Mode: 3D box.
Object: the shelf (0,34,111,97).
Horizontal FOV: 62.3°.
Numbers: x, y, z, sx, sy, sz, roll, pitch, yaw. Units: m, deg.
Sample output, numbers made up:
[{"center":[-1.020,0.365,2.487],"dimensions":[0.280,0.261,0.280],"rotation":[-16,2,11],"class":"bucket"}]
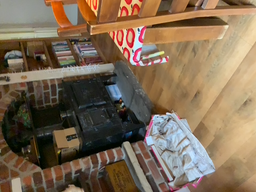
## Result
[{"center":[-1.420,-0.550,3.350],"dimensions":[1.040,2.050,0.290],"rotation":[59,147,36],"class":"shelf"}]
